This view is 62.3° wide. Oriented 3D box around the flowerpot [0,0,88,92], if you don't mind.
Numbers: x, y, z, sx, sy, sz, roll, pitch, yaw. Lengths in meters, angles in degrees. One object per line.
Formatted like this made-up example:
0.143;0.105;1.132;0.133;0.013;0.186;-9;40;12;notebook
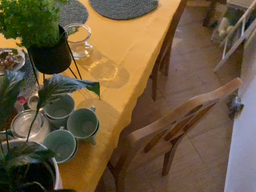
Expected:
-0.290;-0.200;0.710;0.220;0.280;0.190;17;55;9;flowerpot
